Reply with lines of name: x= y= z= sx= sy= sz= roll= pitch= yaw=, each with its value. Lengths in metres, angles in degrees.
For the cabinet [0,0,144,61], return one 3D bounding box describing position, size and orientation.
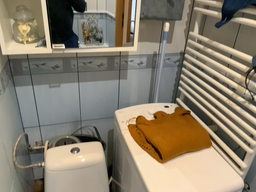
cabinet: x=-0.250 y=-0.500 z=0.920 sx=0.630 sy=0.640 sz=0.190 roll=-5 pitch=30 yaw=-17
